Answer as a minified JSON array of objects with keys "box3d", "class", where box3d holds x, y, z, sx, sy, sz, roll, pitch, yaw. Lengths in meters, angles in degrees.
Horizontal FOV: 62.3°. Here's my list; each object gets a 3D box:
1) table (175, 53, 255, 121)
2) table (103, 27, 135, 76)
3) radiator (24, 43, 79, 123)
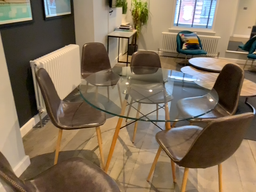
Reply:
[{"box3d":[1.350,-0.280,3.510,1.060,0.350,1.910,7,25,10],"class":"table"},{"box3d":[-0.160,-0.950,4.350,0.440,0.750,0.990,6,25,8],"class":"table"},{"box3d":[-0.890,-0.230,2.690,0.130,0.700,1.010,7,25,8],"class":"radiator"}]
